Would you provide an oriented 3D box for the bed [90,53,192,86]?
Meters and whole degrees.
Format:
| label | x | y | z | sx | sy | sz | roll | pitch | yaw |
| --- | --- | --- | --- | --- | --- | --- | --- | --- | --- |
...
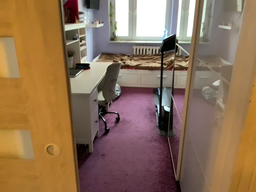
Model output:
| label | x | y | z | sx | sy | sz | roll | pitch | yaw |
| --- | --- | --- | --- | --- | --- | --- | --- | --- | --- |
| bed | 0.290 | -0.660 | 5.040 | 2.140 | 0.490 | 1.040 | 2 | 21 | 4 |

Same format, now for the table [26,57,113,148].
| label | x | y | z | sx | sy | sz | roll | pitch | yaw |
| --- | --- | --- | --- | --- | --- | --- | --- | --- | --- |
| table | -0.660 | -0.040 | 3.010 | 0.680 | 0.730 | 1.550 | 2 | 21 | 4 |
